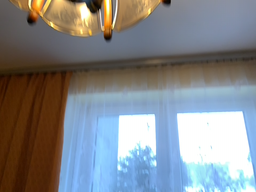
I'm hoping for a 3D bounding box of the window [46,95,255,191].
[{"bbox_3d":[0.150,0.760,1.270,1.390,1.520,0.130,-3,-22,11],"label":"window"}]
